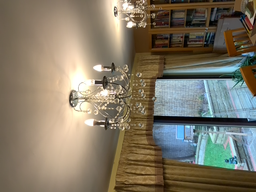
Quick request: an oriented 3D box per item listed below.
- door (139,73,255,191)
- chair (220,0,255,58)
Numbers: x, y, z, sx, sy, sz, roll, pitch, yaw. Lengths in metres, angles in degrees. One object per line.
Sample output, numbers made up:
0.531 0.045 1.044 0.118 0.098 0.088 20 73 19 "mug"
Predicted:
1.310 0.350 3.100 2.150 2.110 0.100 -79 -14 -47 "door"
1.580 -0.770 2.200 0.580 1.010 0.430 77 -164 -55 "chair"
